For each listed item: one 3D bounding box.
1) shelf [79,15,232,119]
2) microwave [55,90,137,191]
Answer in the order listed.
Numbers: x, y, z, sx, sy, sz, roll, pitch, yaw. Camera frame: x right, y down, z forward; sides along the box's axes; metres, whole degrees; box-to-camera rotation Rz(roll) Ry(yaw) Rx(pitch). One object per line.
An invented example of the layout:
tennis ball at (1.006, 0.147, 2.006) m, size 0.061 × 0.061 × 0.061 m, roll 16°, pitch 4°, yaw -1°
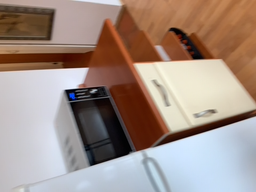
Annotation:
shelf at (0.180, -0.190, 1.510) m, size 0.310 × 0.870 × 0.590 m, roll 64°, pitch 143°, yaw 26°
microwave at (-0.200, 0.240, 1.150) m, size 0.400 × 0.240 × 0.340 m, roll 63°, pitch 143°, yaw 27°
